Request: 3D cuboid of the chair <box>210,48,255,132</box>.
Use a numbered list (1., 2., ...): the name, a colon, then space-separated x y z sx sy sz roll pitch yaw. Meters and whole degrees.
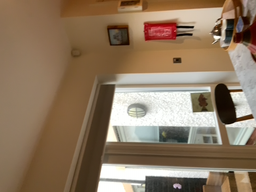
1. chair: 1.220 -0.040 1.850 0.540 0.790 0.520 78 -166 -55
